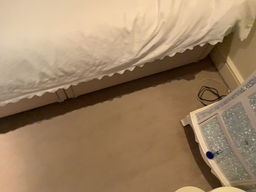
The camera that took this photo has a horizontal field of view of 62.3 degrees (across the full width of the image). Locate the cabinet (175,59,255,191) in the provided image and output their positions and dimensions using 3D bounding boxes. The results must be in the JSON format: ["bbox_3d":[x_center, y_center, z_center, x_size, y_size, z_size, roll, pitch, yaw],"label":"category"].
[{"bbox_3d":[0.640,0.160,1.000,0.470,0.740,0.460,-18,71,-13],"label":"cabinet"}]
